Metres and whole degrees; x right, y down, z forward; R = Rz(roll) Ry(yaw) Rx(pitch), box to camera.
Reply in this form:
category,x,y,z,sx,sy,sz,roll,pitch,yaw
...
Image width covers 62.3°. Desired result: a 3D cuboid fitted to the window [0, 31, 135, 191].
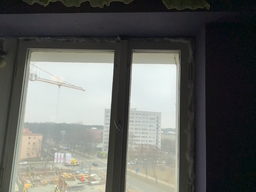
category,x,y,z,sx,sy,sz,roll,pitch,yaw
window,-0.390,0.170,1.450,0.820,1.120,0.310,3,-8,3
